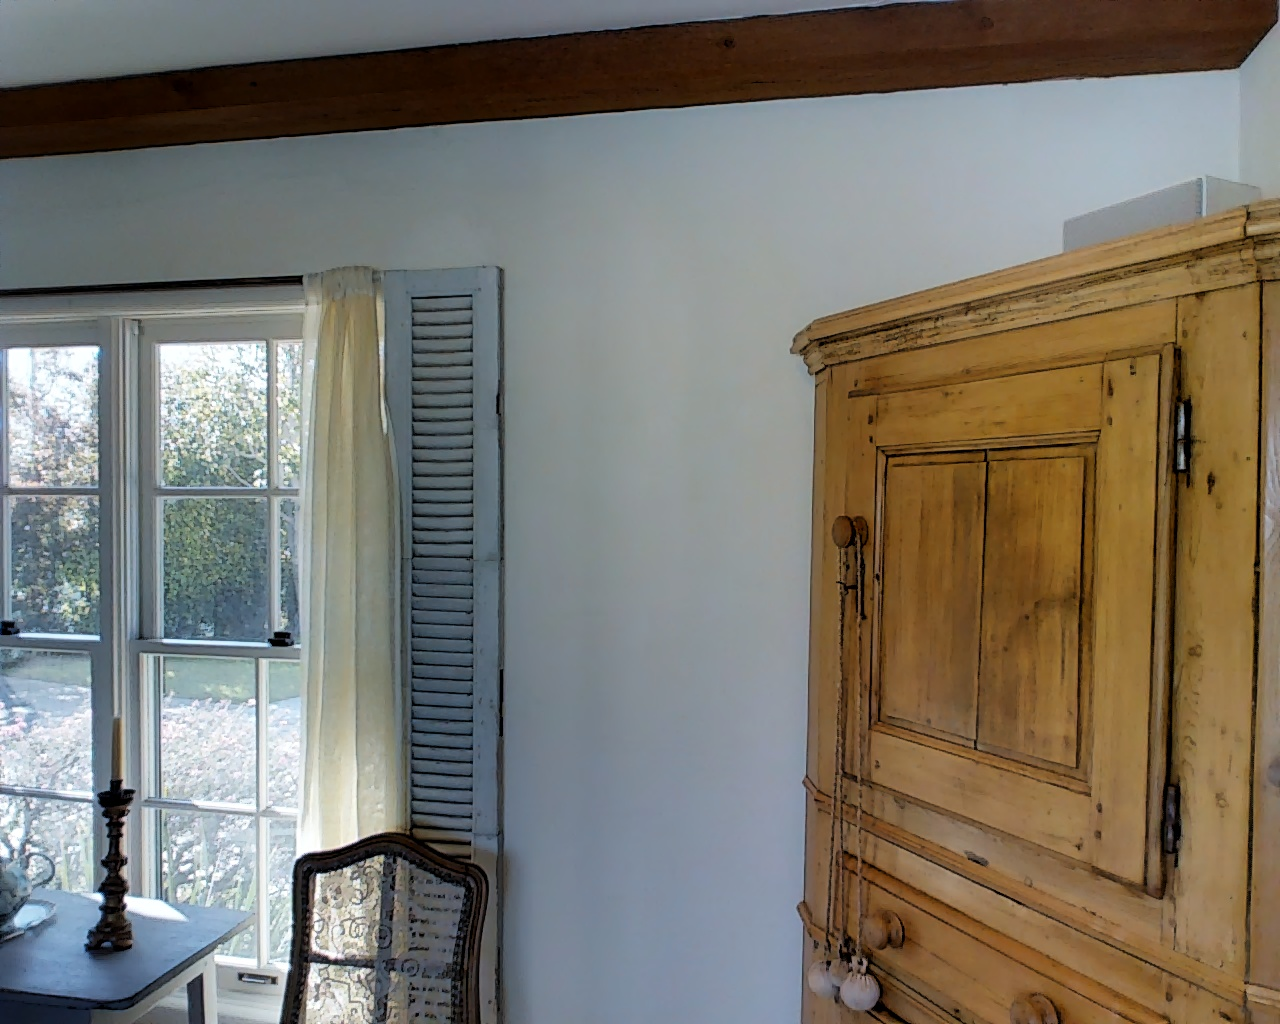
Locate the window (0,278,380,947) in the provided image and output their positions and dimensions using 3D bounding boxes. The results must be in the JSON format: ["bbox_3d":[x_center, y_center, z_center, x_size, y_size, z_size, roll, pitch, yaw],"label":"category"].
[{"bbox_3d":[-1.240,0.210,2.530,1.250,1.420,0.230,0,1,14],"label":"window"}]
